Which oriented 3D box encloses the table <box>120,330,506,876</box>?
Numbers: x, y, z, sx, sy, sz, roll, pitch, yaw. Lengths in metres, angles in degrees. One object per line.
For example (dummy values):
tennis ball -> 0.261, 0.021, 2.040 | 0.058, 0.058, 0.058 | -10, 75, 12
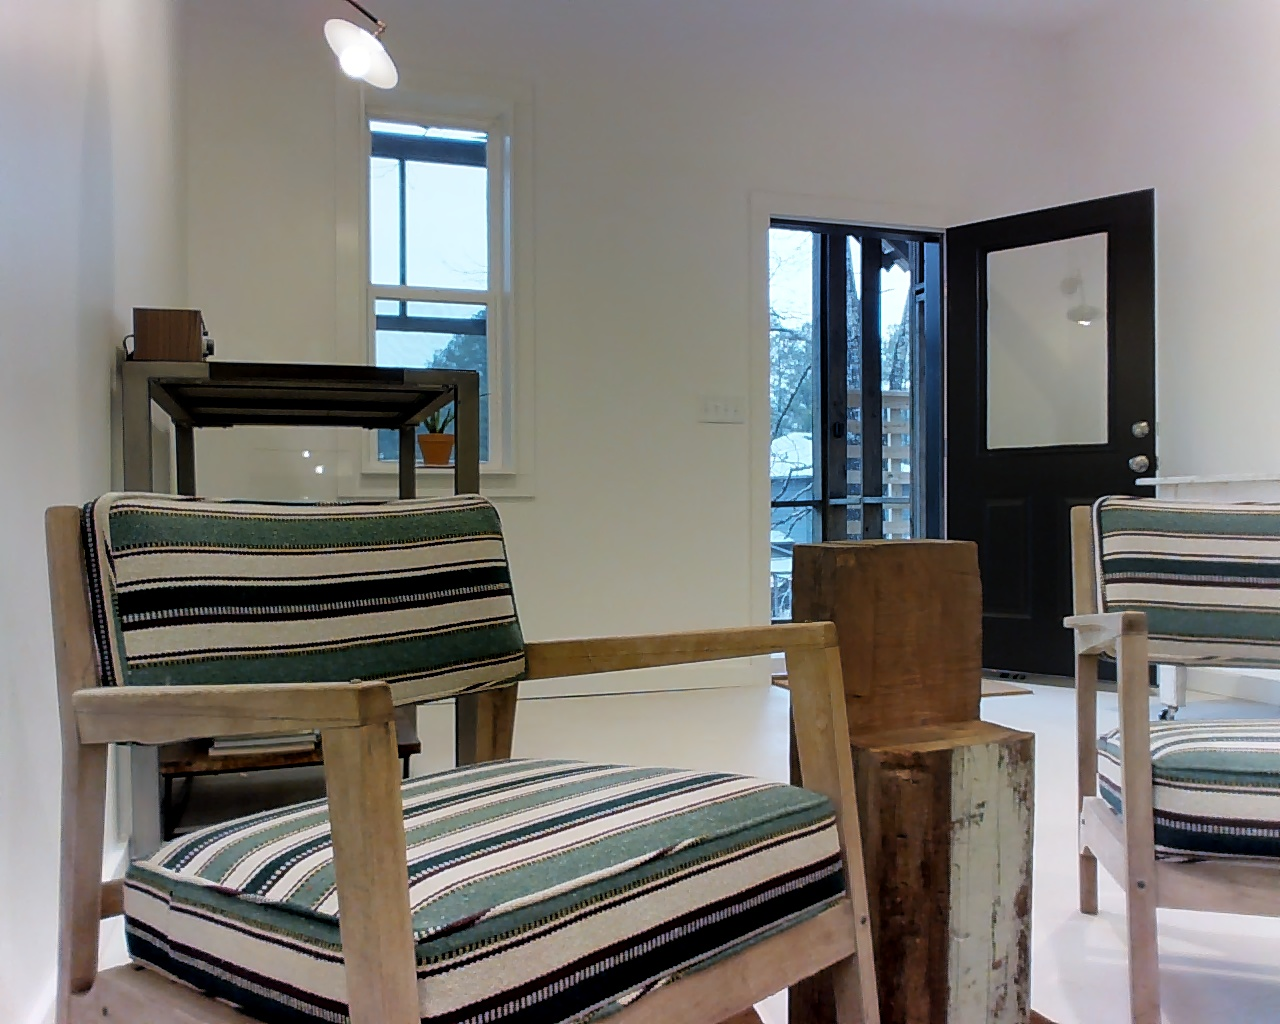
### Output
table -> -0.880, 0.180, 2.930 | 0.770, 1.080, 1.440 | 0, 0, -18
